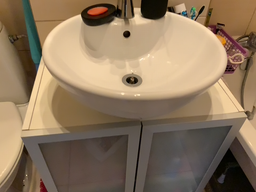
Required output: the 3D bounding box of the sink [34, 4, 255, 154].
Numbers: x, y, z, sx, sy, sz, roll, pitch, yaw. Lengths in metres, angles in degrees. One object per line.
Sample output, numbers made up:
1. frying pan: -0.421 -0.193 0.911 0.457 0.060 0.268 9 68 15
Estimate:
1. sink: 0.020 -0.100 0.610 0.450 0.160 0.450 -5 43 -9
